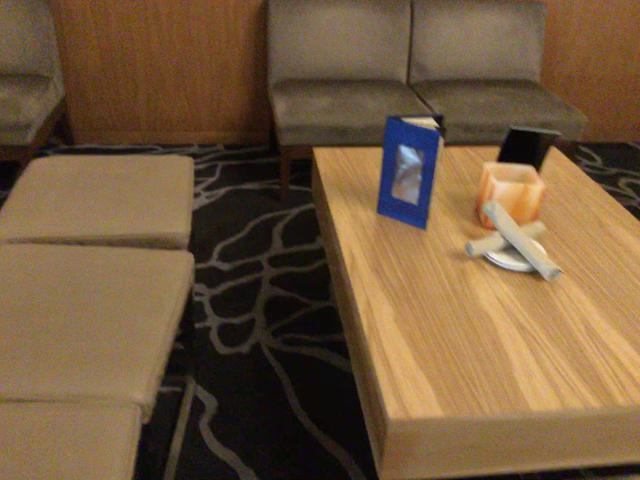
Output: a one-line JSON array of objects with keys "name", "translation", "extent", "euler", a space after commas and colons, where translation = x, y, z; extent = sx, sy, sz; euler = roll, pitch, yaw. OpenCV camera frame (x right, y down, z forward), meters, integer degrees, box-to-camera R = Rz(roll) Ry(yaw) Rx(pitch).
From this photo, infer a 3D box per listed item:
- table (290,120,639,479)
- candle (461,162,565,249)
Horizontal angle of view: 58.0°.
[{"name": "table", "translation": [0.510, 0.130, 1.670], "extent": [1.060, 0.460, 1.380], "euler": [-3, 32, -8]}, {"name": "candle", "translation": [0.520, -0.100, 1.590], "extent": [0.170, 0.140, 0.230], "euler": [-3, 32, -8]}]
